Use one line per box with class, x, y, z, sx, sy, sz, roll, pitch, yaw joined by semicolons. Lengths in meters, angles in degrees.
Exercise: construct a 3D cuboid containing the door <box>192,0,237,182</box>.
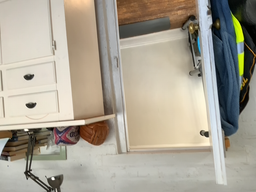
door;0.440;-0.500;1.250;0.090;1.680;0.820;-5;179;18
